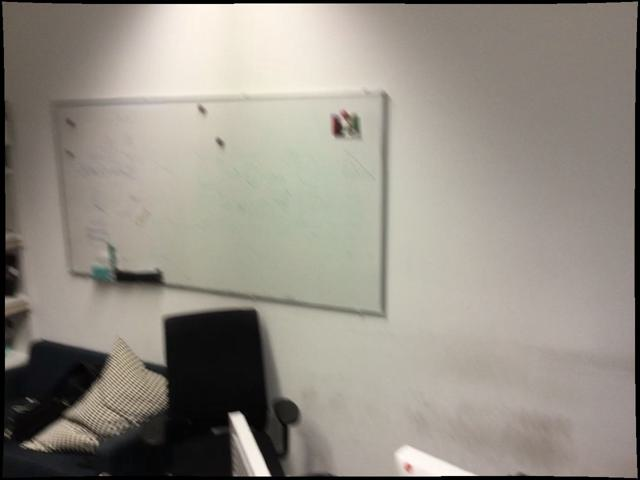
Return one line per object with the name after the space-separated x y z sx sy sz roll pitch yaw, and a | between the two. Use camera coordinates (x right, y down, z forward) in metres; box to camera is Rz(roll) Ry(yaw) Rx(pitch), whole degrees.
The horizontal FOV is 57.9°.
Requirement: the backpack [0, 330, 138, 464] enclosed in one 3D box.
-1.379 0.801 3.080 0.540 0.410 0.530 5 14 25 | backpack

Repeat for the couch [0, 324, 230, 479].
-1.389 1.011 3.130 1.569 0.651 0.810 5 14 25 | couch

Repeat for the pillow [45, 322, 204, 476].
-0.969 0.771 2.940 0.510 0.490 0.520 5 14 25 | pillow

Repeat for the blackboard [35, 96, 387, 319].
-0.639 -0.220 2.960 1.998 0.961 0.170 5 14 25 | blackboard

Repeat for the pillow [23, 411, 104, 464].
-1.259 0.961 2.830 0.390 0.120 0.130 5 14 25 | pillow
